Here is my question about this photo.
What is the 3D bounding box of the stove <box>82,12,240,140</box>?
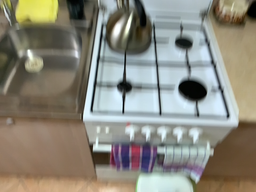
[{"bbox_3d":[0.110,-0.110,0.880,0.500,0.150,0.530,3,54,-2],"label":"stove"}]
